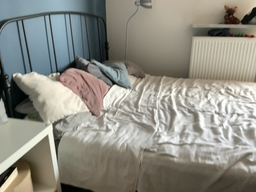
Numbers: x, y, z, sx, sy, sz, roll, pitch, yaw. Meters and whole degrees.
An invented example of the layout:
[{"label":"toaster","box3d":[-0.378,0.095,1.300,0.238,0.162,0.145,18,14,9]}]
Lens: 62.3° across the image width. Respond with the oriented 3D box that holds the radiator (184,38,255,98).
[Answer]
[{"label":"radiator","box3d":[1.070,-0.340,2.520,0.740,0.650,0.210,4,21,13]}]
